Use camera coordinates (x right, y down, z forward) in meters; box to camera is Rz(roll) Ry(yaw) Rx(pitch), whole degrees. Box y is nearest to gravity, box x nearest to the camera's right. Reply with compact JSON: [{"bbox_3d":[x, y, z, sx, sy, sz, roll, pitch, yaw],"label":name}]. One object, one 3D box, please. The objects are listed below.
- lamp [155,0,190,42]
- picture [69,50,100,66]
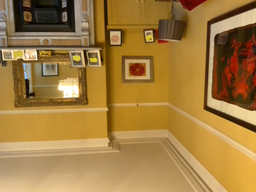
[{"bbox_3d":[0.670,-1.210,3.290,0.390,0.670,0.470,-2,-171,-7],"label":"lamp"},{"bbox_3d":[-0.720,-0.640,3.570,0.490,0.260,0.170,-2,-171,-8],"label":"picture"}]
